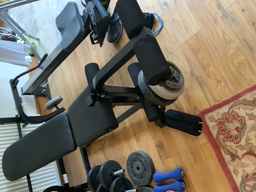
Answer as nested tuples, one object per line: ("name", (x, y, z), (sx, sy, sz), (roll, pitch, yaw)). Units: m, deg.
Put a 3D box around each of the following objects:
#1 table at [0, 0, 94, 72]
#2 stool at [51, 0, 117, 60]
("table", (-1.010, -0.850, 1.920), (1.460, 0.950, 0.470), (-37, 66, 37))
("stool", (-0.360, -0.530, 1.720), (0.280, 0.350, 0.330), (-38, 65, 36))
